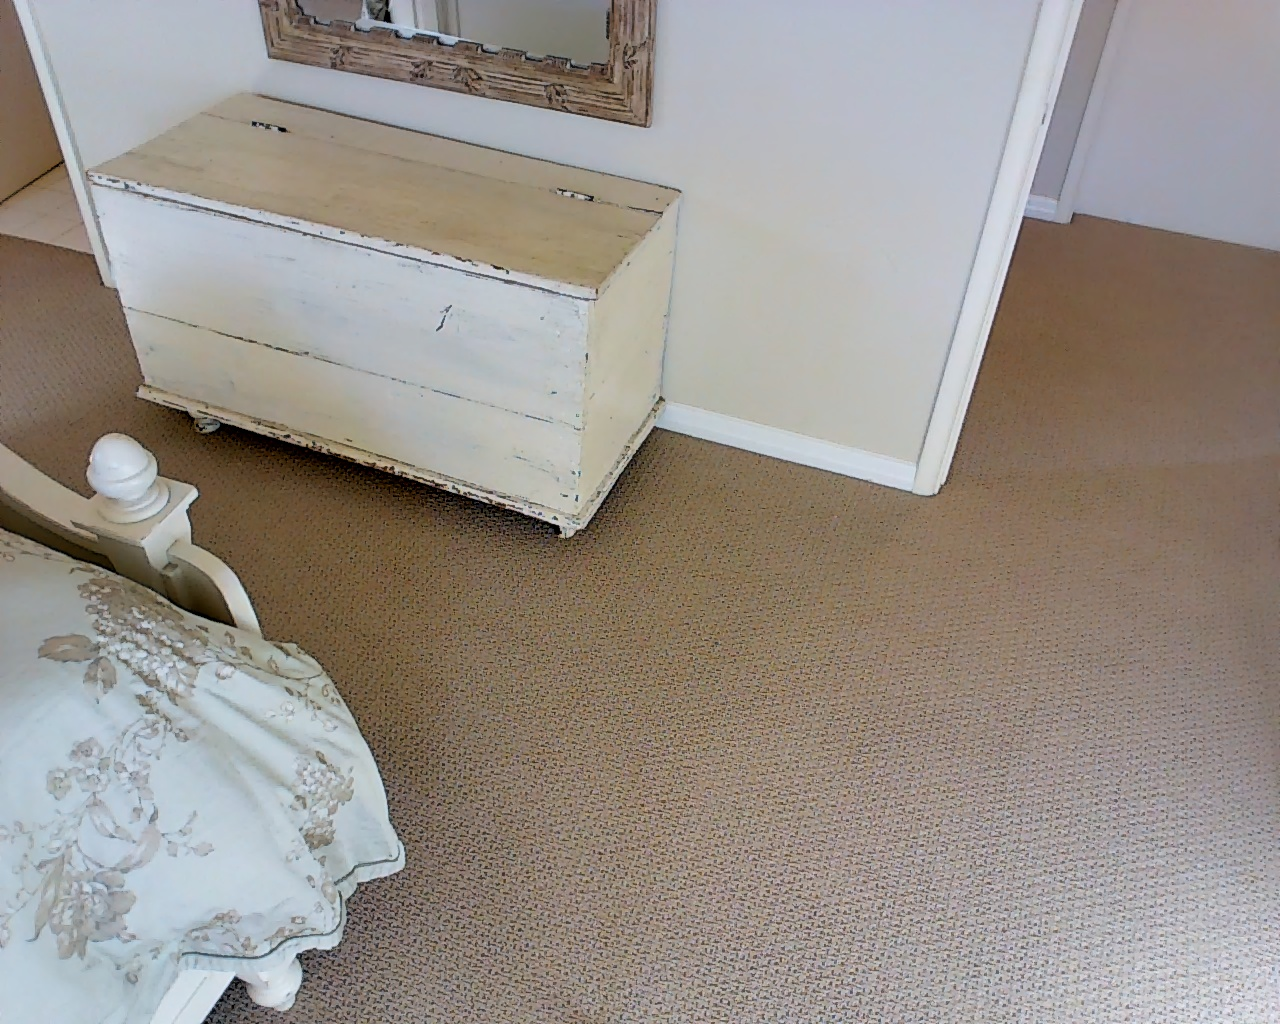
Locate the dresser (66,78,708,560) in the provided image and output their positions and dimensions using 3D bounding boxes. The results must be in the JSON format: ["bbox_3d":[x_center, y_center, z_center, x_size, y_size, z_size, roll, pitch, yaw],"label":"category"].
[{"bbox_3d":[-0.530,-0.480,2.510,1.210,0.690,0.580,15,42,14],"label":"dresser"}]
